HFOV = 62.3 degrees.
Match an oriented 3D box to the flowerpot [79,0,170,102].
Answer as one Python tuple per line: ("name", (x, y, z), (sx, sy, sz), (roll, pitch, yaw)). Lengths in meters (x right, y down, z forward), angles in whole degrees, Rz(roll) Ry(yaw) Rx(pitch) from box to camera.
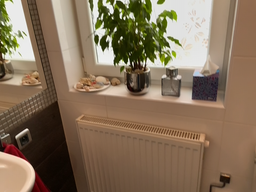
("flowerpot", (0.000, -0.300, 1.070), (0.370, 0.580, 0.230), (6, 26, 22))

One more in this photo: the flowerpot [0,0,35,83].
("flowerpot", (-0.970, -0.390, 1.490), (0.470, 0.530, 0.190), (7, 26, 22))
